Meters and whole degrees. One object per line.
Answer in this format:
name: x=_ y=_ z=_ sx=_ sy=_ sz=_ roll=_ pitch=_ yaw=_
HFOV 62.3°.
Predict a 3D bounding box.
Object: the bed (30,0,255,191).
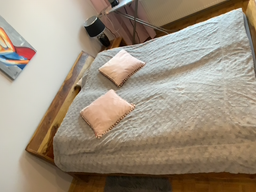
bed: x=0.270 y=0.050 z=2.400 sx=2.350 sy=0.650 sz=1.720 roll=-12 pitch=44 yaw=33
